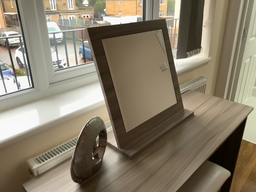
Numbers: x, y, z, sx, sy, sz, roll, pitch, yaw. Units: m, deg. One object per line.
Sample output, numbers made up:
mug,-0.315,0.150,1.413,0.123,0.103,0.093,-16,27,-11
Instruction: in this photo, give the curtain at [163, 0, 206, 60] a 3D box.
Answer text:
curtain,0.440,-0.910,1.520,0.200,1.240,0.240,21,32,40

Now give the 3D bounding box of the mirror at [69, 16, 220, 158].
mirror,0.080,-0.110,1.020,0.540,0.470,0.400,-21,33,-40
